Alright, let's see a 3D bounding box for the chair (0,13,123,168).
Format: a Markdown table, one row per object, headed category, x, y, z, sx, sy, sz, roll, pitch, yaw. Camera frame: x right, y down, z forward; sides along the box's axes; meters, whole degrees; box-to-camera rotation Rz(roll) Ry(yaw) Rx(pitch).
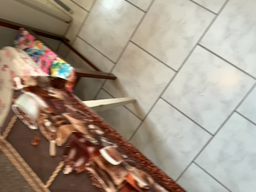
| category | x | y | z | sx | sy | sz | roll | pitch | yaw |
| --- | --- | --- | --- | --- | --- | --- | --- | --- | --- |
| chair | -0.480 | -0.050 | 1.020 | 0.480 | 0.780 | 0.450 | 38 | 105 | 17 |
